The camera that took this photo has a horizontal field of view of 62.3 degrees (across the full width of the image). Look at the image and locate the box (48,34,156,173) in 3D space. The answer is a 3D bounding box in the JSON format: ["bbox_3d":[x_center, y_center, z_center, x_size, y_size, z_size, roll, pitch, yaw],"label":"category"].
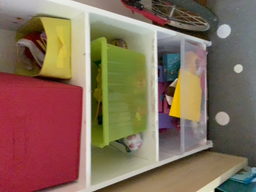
[{"bbox_3d":[-0.140,0.020,1.010,0.460,0.280,0.490,1,93,46],"label":"box"}]
